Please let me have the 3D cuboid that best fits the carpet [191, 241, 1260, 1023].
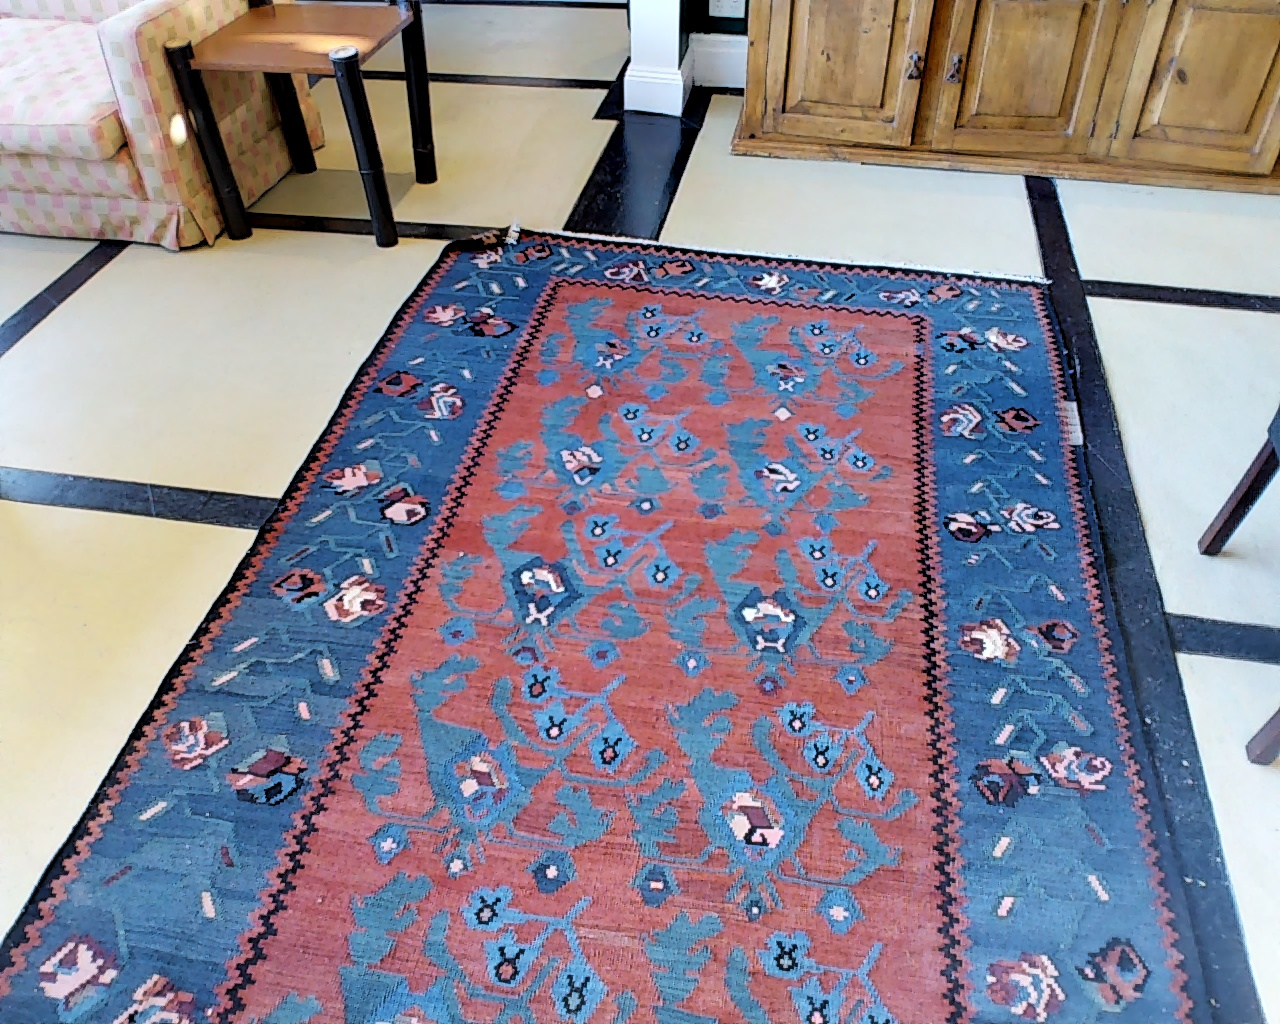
[{"bbox_3d":[0.240,0.150,1.820,1.250,0.010,2.450,7,41,9],"label":"carpet"}]
